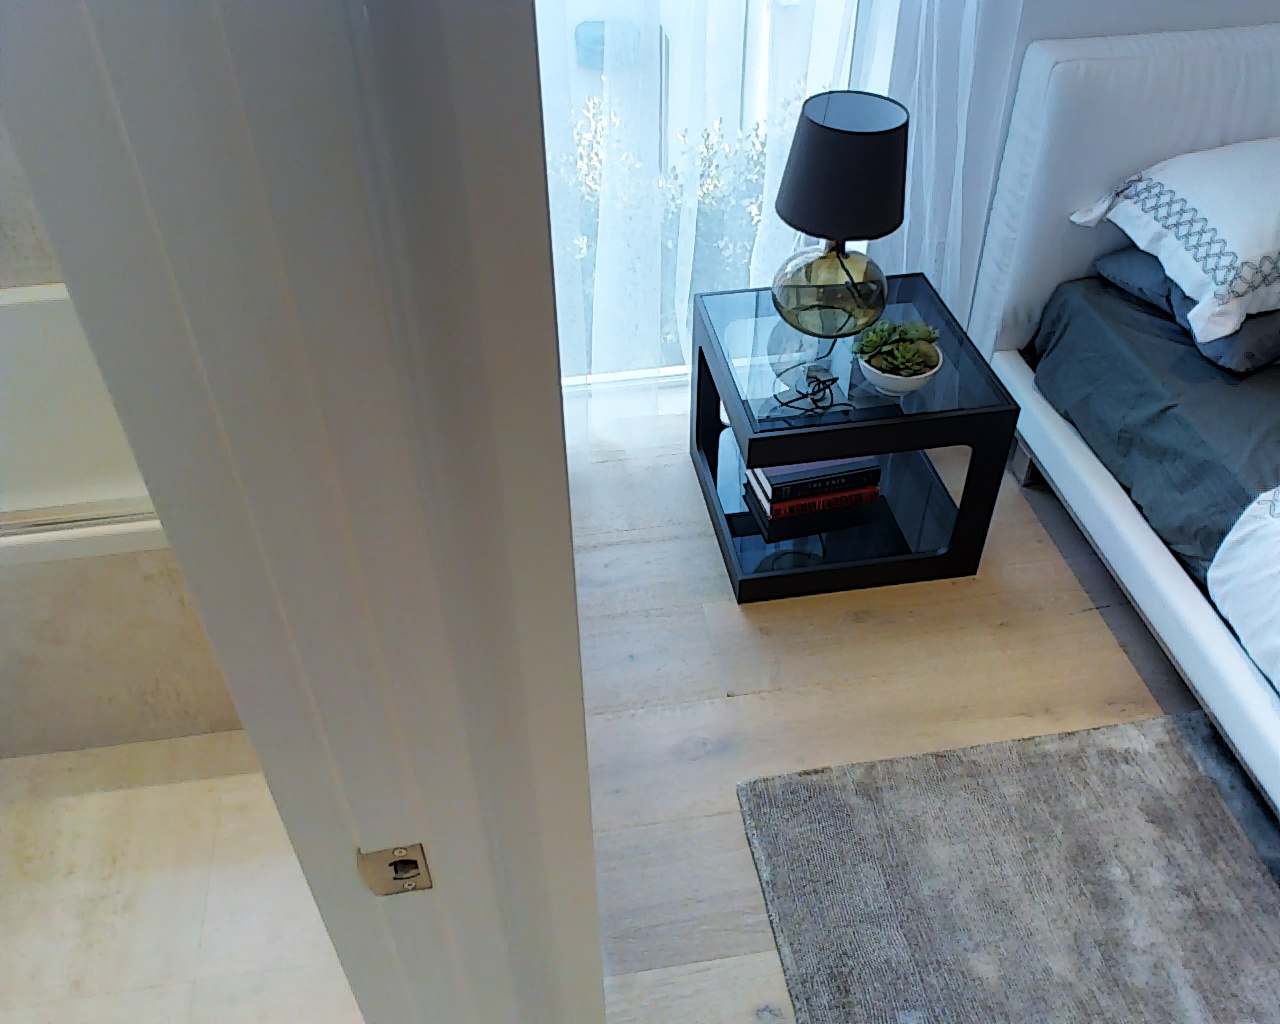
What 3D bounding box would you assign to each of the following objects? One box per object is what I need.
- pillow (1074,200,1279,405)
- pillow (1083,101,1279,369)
[{"bbox_3d":[1.110,-0.420,2.090,0.300,0.150,0.470,-6,42,-6],"label":"pillow"},{"bbox_3d":[1.380,-0.560,2.050,0.840,0.280,0.450,-7,44,-6],"label":"pillow"}]
